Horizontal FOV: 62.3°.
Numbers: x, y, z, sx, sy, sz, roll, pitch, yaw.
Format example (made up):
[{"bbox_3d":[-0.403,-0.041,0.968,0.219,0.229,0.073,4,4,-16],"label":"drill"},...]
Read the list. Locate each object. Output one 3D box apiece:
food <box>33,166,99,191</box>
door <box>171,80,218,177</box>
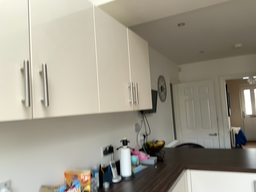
[{"bbox_3d":[-0.380,0.600,1.360,0.200,0.180,0.370,-5,-3,26],"label":"food"},{"bbox_3d":[1.430,0.690,4.630,0.830,1.970,0.170,-5,-4,30],"label":"door"}]
